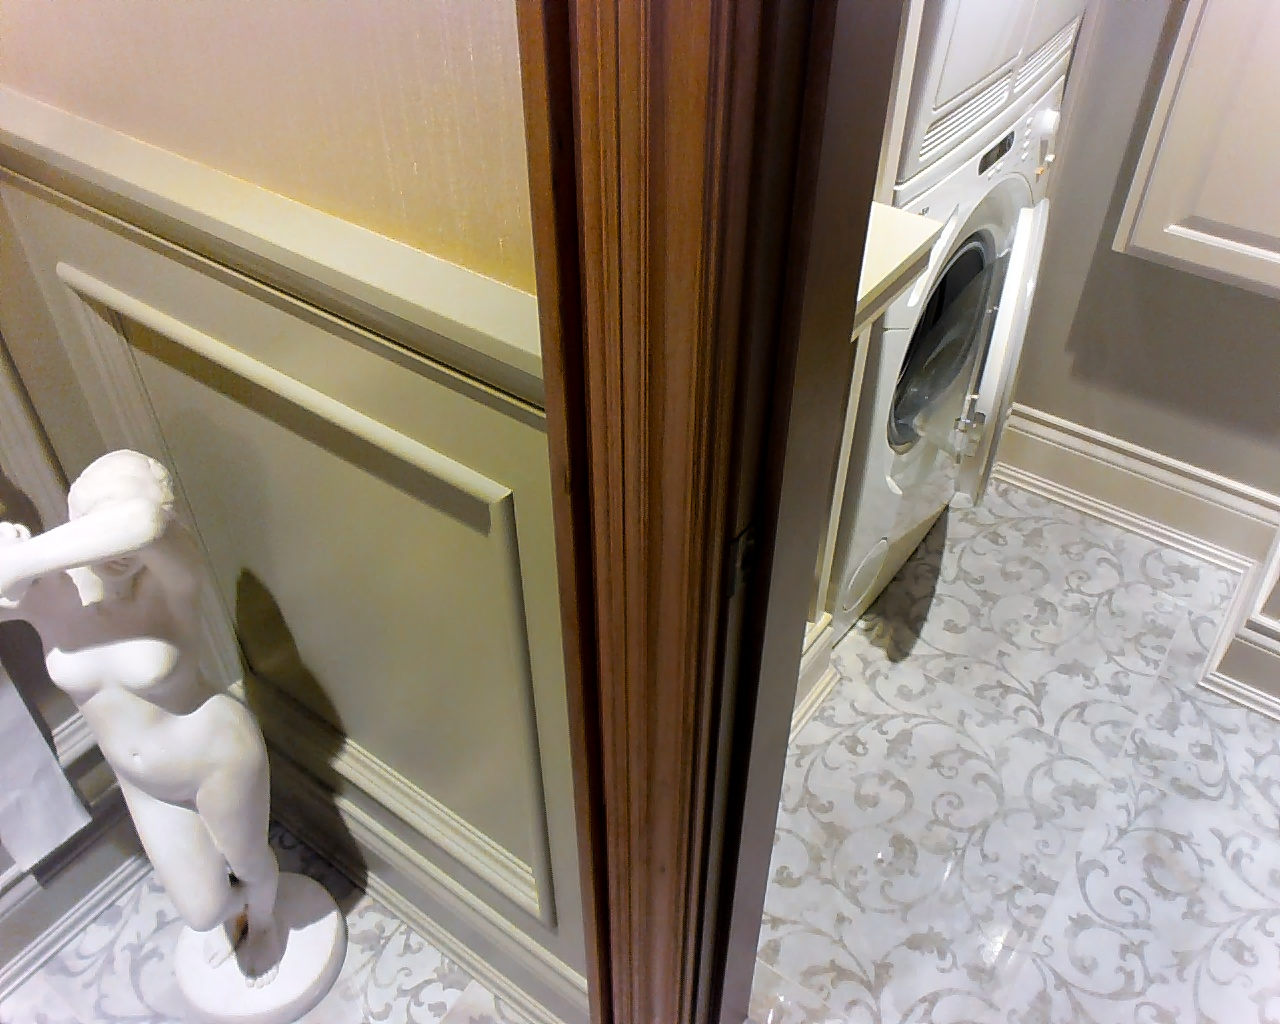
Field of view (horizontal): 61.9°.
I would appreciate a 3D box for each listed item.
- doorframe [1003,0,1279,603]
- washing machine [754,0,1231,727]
[{"bbox_3d":[0.960,-0.630,1.510,0.450,1.810,0.140,25,48,25],"label":"doorframe"},{"bbox_3d":[0.530,-0.550,1.460,0.310,1.760,0.700,25,48,25],"label":"washing machine"}]
